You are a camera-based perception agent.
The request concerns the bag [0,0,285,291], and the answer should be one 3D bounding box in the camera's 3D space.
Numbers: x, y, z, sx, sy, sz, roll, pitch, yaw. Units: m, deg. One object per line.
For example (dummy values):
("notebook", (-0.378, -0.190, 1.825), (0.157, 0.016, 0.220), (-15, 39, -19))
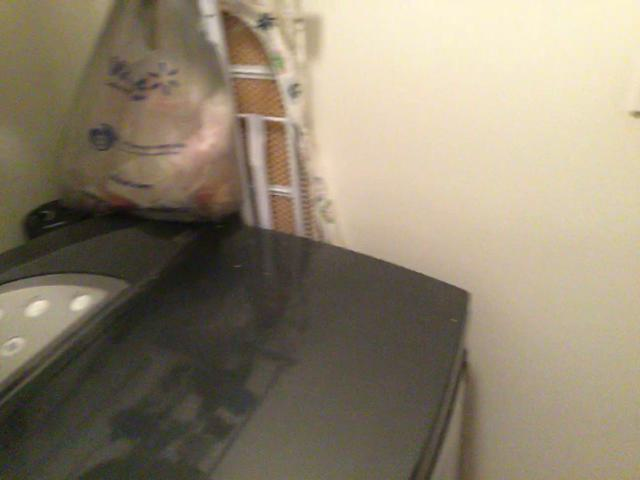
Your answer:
("bag", (-0.290, -0.210, 1.010), (0.300, 0.490, 0.270), (8, 35, 23))
